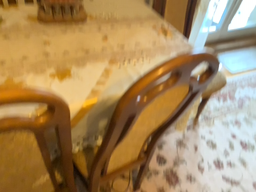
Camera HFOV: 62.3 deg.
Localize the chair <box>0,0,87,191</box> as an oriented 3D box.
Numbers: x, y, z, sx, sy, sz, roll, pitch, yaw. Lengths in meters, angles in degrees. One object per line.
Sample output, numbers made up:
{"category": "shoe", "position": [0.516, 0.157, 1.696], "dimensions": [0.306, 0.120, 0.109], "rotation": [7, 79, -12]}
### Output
{"category": "chair", "position": [-0.520, 0.200, 0.820], "dimensions": [0.480, 1.070, 0.580], "rotation": [-26, 56, -30]}
